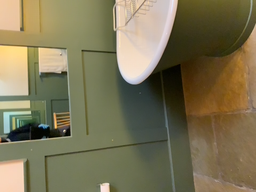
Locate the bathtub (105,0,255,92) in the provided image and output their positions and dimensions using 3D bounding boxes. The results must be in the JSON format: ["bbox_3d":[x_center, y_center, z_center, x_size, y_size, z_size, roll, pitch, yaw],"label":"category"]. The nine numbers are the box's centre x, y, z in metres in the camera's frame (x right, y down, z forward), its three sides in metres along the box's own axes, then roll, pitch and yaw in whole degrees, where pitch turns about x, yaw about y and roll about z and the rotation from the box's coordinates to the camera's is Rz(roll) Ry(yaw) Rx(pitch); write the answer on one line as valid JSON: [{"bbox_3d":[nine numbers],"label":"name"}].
[{"bbox_3d":[0.270,-0.960,1.350,0.730,0.660,1.760,161,105,-64],"label":"bathtub"}]
